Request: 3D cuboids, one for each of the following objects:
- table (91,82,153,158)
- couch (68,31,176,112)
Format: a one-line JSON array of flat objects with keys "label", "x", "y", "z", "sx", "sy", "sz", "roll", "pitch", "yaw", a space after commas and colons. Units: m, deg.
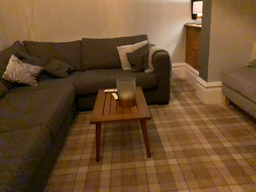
[{"label": "table", "x": -0.050, "y": 0.170, "z": 1.960, "sx": 0.450, "sy": 0.370, "sz": 0.750, "roll": -4, "pitch": 21, "yaw": -1}, {"label": "couch", "x": -0.070, "y": -0.420, "z": 2.950, "sx": 1.150, "sy": 0.770, "sz": 1.180, "roll": -5, "pitch": 21, "yaw": -2}]
